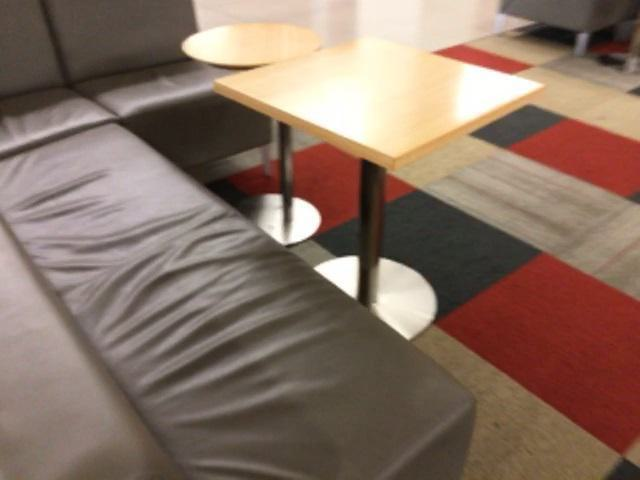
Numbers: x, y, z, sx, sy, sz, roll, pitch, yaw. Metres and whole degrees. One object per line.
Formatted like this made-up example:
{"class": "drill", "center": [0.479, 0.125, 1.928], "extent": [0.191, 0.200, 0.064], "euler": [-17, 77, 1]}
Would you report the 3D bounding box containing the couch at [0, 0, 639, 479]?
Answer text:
{"class": "couch", "center": [-0.470, -0.160, 1.720], "extent": [1.360, 0.810, 2.250], "euler": [-25, 41, -31]}
